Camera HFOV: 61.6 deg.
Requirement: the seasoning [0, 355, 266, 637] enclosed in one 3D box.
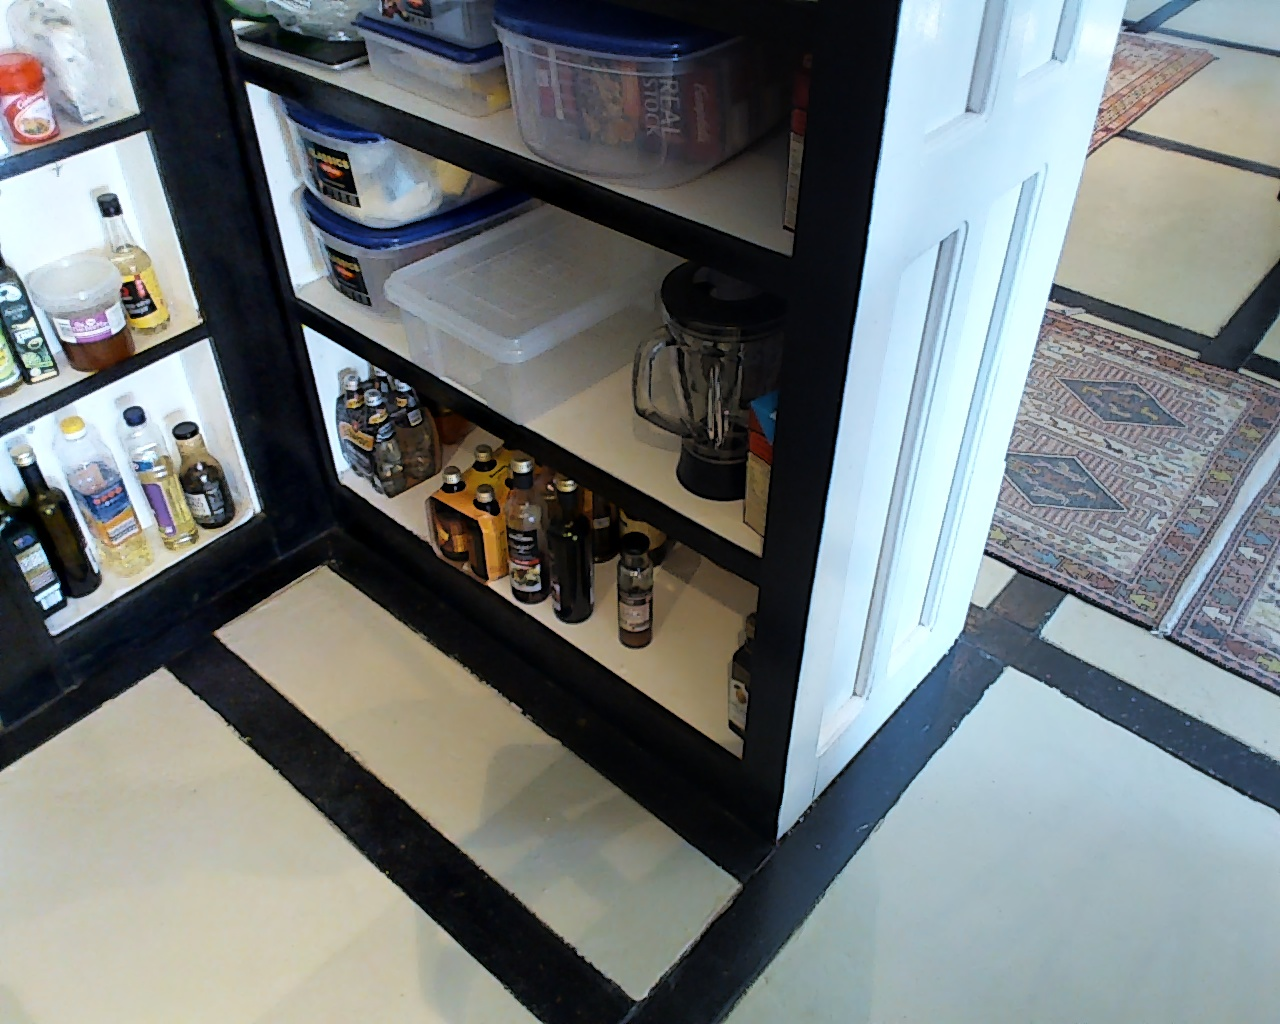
[{"bbox_3d":[-0.790,-0.030,1.660,0.170,0.280,0.310,28,47,29],"label":"seasoning"}]
